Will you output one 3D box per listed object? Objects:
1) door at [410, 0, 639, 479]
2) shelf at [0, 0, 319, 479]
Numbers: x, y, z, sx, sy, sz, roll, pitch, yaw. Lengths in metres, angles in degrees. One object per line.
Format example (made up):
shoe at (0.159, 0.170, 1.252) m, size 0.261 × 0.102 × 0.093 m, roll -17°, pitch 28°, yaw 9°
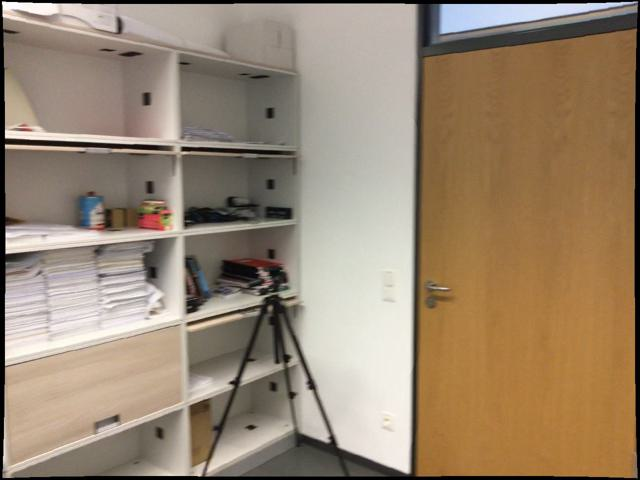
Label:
door at (0.839, 0.180, 2.370) m, size 1.009 × 2.052 × 0.170 m, roll 7°, pitch 13°, yaw 43°
shelf at (-0.779, 0.110, 2.660) m, size 0.560 × 2.252 × 1.699 m, roll 6°, pitch 11°, yaw 40°
